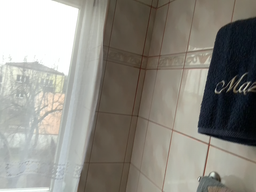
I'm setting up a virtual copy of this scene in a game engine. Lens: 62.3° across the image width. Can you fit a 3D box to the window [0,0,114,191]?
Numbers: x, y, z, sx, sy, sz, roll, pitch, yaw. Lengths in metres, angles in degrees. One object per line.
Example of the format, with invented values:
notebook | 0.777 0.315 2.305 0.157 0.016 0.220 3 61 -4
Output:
window | -0.570 -0.160 1.050 0.880 1.650 0.150 9 2 -28
